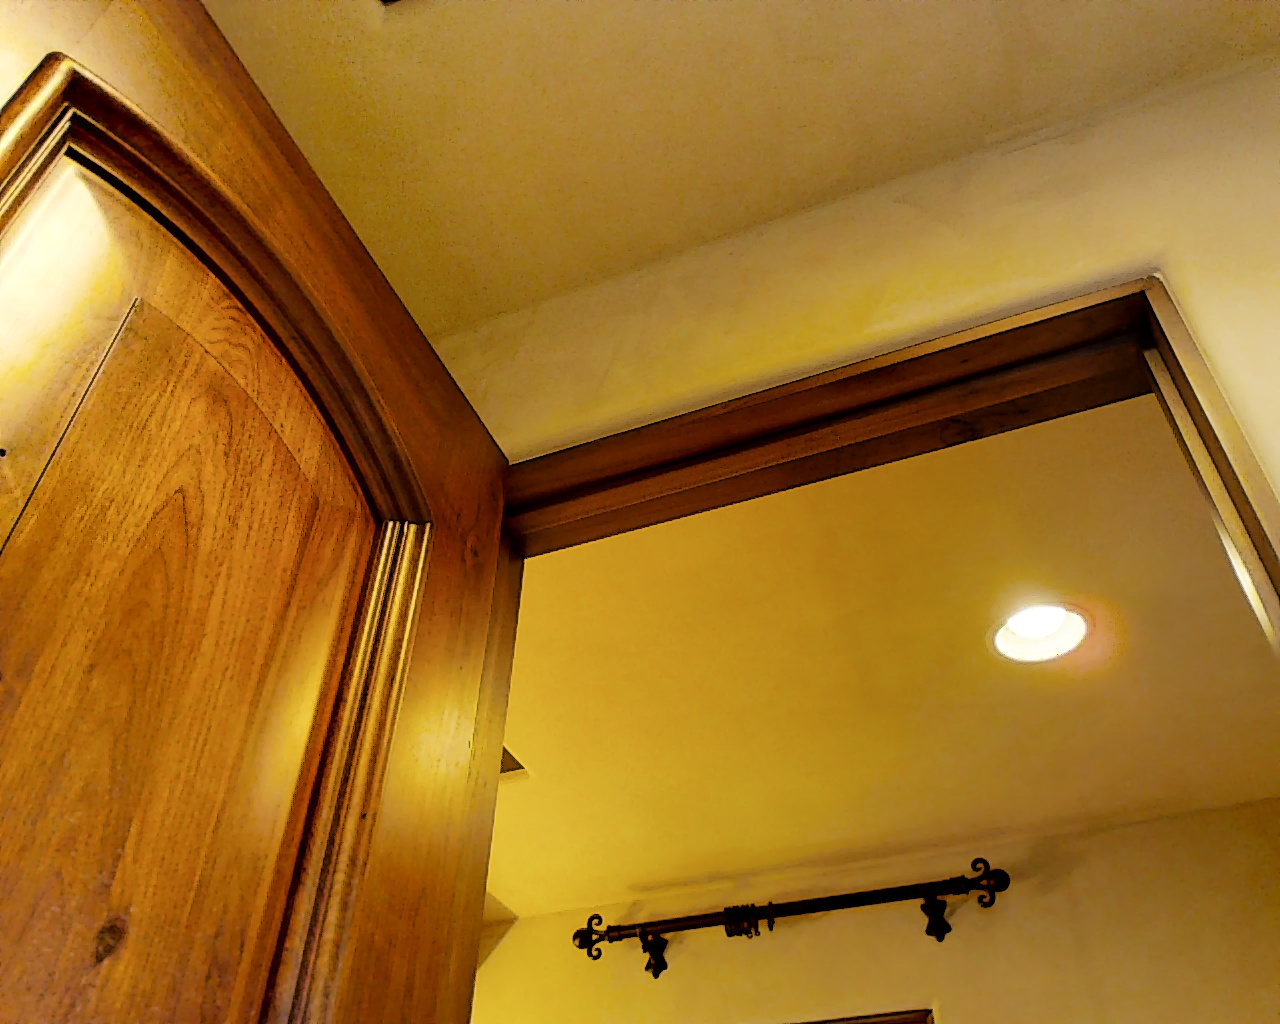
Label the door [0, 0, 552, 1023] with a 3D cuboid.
[{"bbox_3d":[-0.280,0.600,0.150,0.050,2.410,0.750,-15,-45,17],"label":"door"}]
